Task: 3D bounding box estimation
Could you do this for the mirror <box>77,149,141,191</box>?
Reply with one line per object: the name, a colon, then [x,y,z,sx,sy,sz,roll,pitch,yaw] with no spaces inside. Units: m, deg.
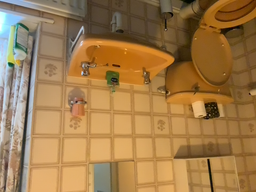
mirror: [-0.110,0.520,1.220,0.340,0.410,0.150,4,166,-23]
